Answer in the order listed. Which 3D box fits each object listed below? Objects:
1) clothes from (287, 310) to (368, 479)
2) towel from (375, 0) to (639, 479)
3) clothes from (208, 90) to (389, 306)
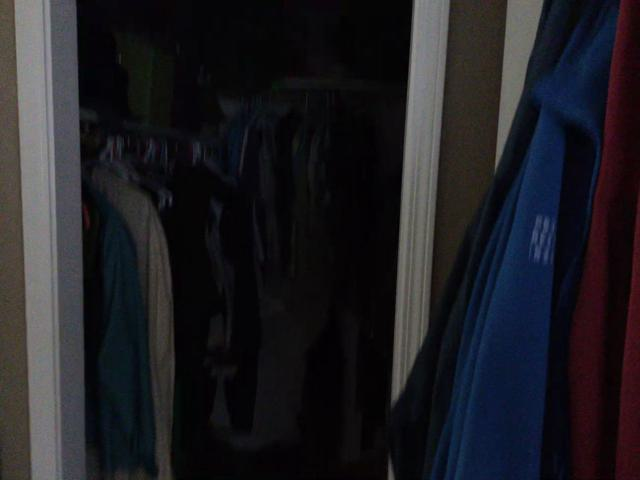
[{"bbox_3d":[0.040,0.790,2.860,0.320,0.770,0.520,4,5,2],"label":"clothes"},{"bbox_3d":[0.320,0.150,0.920,0.380,1.330,0.580,4,5,2],"label":"towel"},{"bbox_3d":[-0.090,-0.190,2.650,0.720,0.870,0.400,4,5,2],"label":"clothes"}]
